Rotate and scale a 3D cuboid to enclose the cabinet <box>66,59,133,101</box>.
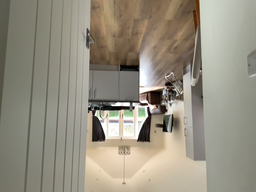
[{"bbox_3d":[-0.640,-0.360,5.020,1.490,0.900,0.480,1,173,-4],"label":"cabinet"}]
